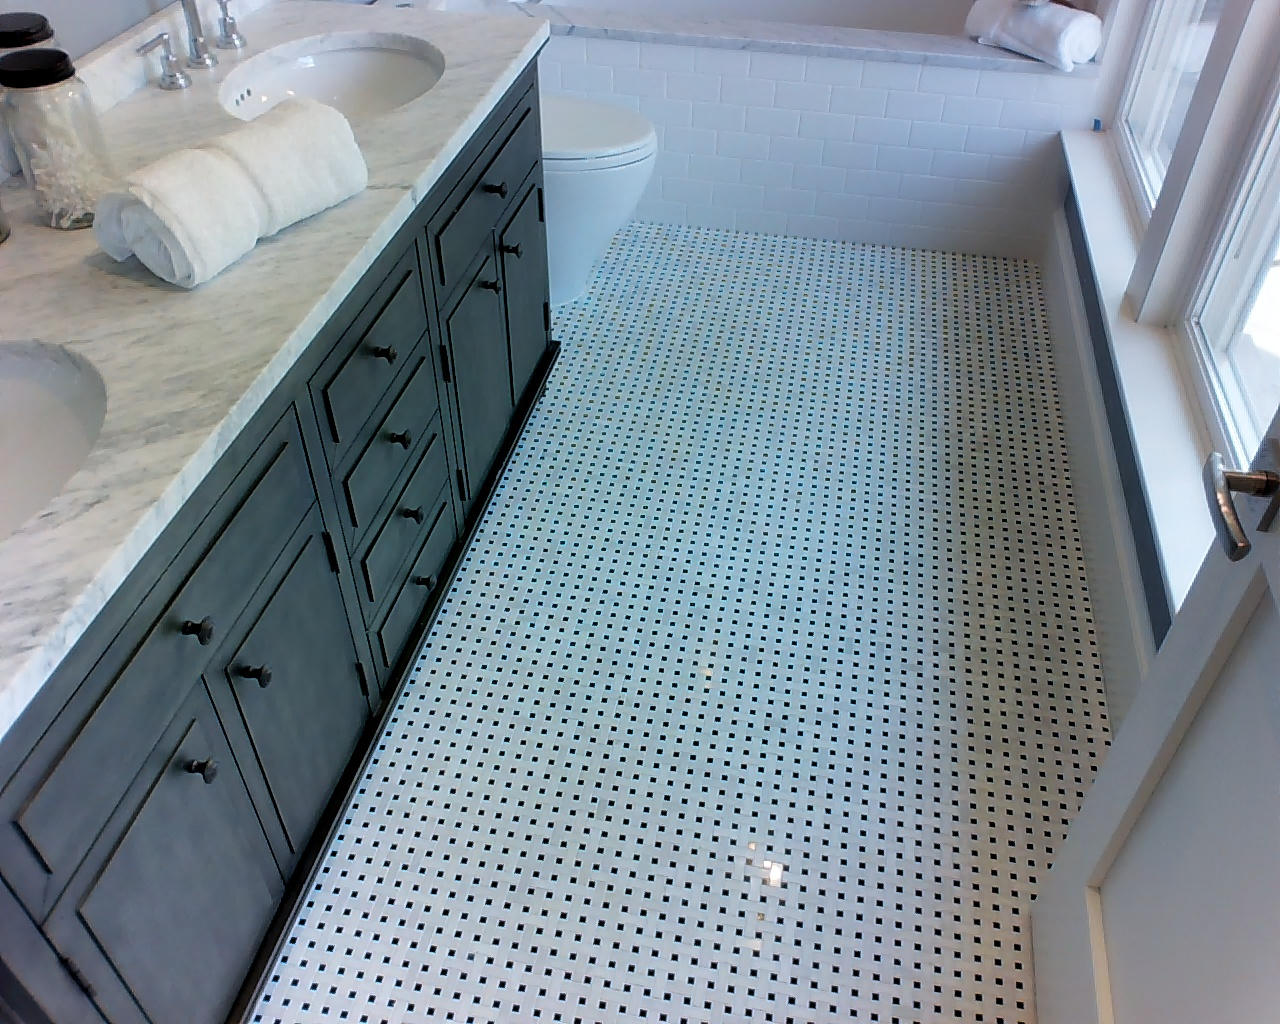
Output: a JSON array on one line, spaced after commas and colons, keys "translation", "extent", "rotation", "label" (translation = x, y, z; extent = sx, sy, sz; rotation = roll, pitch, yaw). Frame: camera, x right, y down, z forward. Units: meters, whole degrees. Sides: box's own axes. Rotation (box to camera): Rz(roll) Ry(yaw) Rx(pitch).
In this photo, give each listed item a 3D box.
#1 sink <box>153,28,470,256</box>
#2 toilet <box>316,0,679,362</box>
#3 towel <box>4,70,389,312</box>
[{"translation": [-0.560, -0.680, 1.940], "extent": [0.360, 0.200, 0.470], "rotation": [8, 42, 7], "label": "sink"}, {"translation": [-0.320, -0.910, 2.810], "extent": [0.730, 0.780, 0.520], "rotation": [9, 42, 9], "label": "toilet"}, {"translation": [-0.570, -0.440, 1.430], "extent": [0.280, 0.130, 0.360], "rotation": [22, 45, 22], "label": "towel"}]
